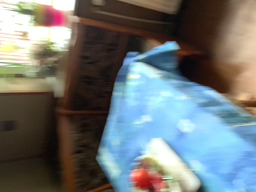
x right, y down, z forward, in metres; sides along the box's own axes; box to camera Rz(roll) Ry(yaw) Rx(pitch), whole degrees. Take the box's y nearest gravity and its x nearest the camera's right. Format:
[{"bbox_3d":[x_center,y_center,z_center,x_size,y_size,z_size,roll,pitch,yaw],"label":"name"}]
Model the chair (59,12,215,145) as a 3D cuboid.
[{"bbox_3d":[0.040,-0.120,1.510,0.440,0.870,0.670,46,129,45],"label":"chair"}]
